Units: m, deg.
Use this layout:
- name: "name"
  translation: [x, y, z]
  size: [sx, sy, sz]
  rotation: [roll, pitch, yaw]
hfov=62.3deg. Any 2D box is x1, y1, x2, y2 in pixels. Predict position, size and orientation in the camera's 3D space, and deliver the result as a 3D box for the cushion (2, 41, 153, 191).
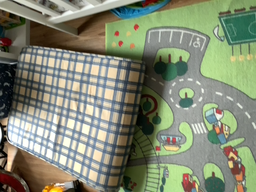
- name: "cushion"
  translation: [-0.360, 0.100, 1.270]
  size: [0.880, 0.180, 0.740]
  rotation: [14, 96, 28]
